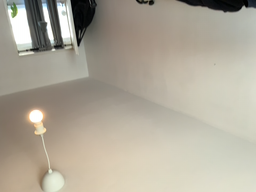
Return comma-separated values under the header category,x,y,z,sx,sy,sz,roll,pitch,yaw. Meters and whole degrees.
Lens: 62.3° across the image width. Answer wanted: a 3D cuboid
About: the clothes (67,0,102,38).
category,x,y,z,sx,sy,sz,roll,pitch,yaw
clothes,-0.630,-1.230,2.850,0.250,0.800,0.880,-12,-159,-18
